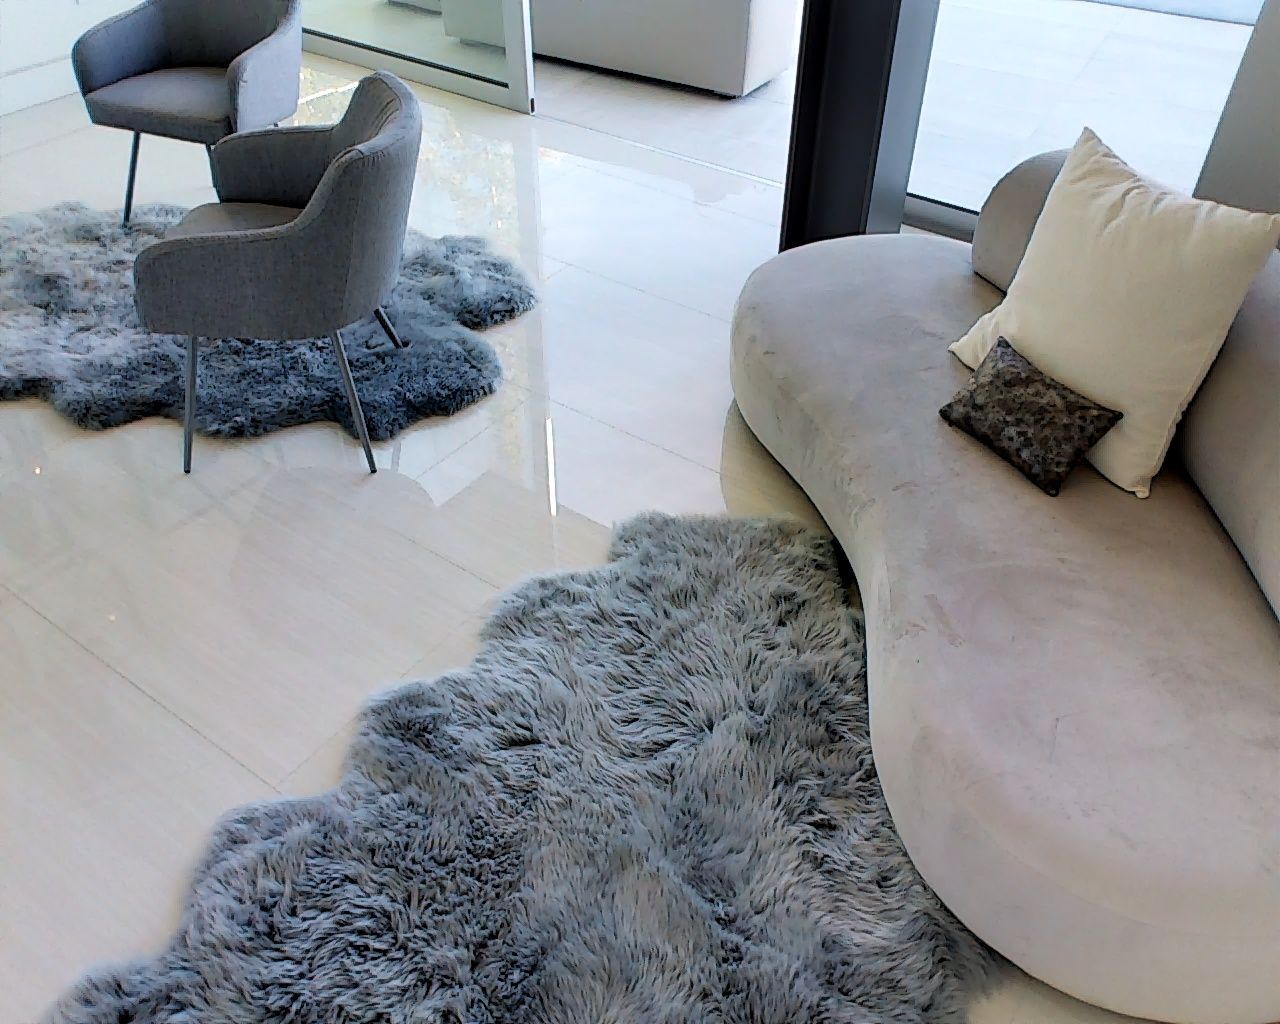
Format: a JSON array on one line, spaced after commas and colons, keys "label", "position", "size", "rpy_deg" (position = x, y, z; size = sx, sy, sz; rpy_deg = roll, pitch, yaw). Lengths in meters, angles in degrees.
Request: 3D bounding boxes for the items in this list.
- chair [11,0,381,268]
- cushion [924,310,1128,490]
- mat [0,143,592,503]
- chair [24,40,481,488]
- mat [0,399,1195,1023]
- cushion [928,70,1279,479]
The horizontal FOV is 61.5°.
[{"label": "chair", "position": [-1.310, -1.310, 3.290], "size": [0.620, 0.760, 0.690], "rpy_deg": [18, 45, 18]}, {"label": "cushion", "position": [0.720, -0.220, 2.040], "size": [0.170, 0.150, 0.330], "rpy_deg": [-16, 45, -18]}, {"label": "mat", "position": [-1.280, -0.640, 3.060], "size": [2.030, 0.090, 1.360], "rpy_deg": [8, 42, 8]}, {"label": "chair", "position": [-0.780, -0.560, 2.430], "size": [0.660, 0.750, 0.610], "rpy_deg": [4, 42, 3]}, {"label": "mat", "position": [-0.060, 0.560, 1.710], "size": [1.270, 0.100, 2.010], "rpy_deg": [26, 48, 25]}, {"label": "cushion", "position": [0.910, -0.450, 2.050], "size": [0.300, 0.530, 0.520], "rpy_deg": [-9, 55, -23]}]
